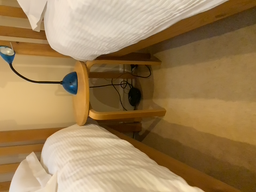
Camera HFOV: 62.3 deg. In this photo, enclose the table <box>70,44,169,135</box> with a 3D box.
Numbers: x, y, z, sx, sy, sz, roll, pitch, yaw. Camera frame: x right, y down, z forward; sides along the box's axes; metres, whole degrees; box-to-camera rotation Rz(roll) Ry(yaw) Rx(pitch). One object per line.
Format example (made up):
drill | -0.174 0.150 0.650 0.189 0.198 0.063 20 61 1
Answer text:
table | -0.070 -0.030 1.260 0.410 0.460 0.420 -177 88 -65
